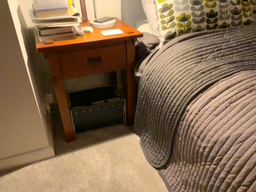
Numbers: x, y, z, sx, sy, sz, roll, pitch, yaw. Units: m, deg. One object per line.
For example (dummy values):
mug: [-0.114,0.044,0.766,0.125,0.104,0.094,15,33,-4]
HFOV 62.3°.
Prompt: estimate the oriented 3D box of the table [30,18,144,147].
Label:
table: [-0.260,-0.120,1.410,0.580,0.620,0.450,-13,34,-17]

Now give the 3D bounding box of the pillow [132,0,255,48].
pillow: [0.420,-0.580,1.360,0.670,0.330,0.460,-11,33,-15]
